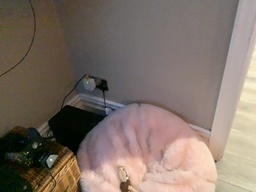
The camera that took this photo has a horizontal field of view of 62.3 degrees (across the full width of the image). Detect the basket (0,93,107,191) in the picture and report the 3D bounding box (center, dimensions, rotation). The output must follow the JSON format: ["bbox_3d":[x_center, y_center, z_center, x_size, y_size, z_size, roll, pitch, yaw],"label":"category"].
[{"bbox_3d":[-0.510,0.430,0.890,0.470,0.460,0.740,14,42,23],"label":"basket"}]
